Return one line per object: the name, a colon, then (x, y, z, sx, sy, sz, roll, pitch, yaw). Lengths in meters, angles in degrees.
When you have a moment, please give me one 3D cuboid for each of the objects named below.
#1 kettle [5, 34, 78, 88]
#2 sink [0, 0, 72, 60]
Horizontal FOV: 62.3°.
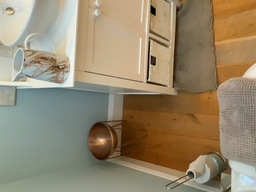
kettle: (-0.330, -0.120, 0.820, 0.150, 0.210, 0.160, 1, 88, 42)
sink: (-0.440, -0.400, 0.950, 0.450, 0.140, 0.400, 0, 87, 42)
